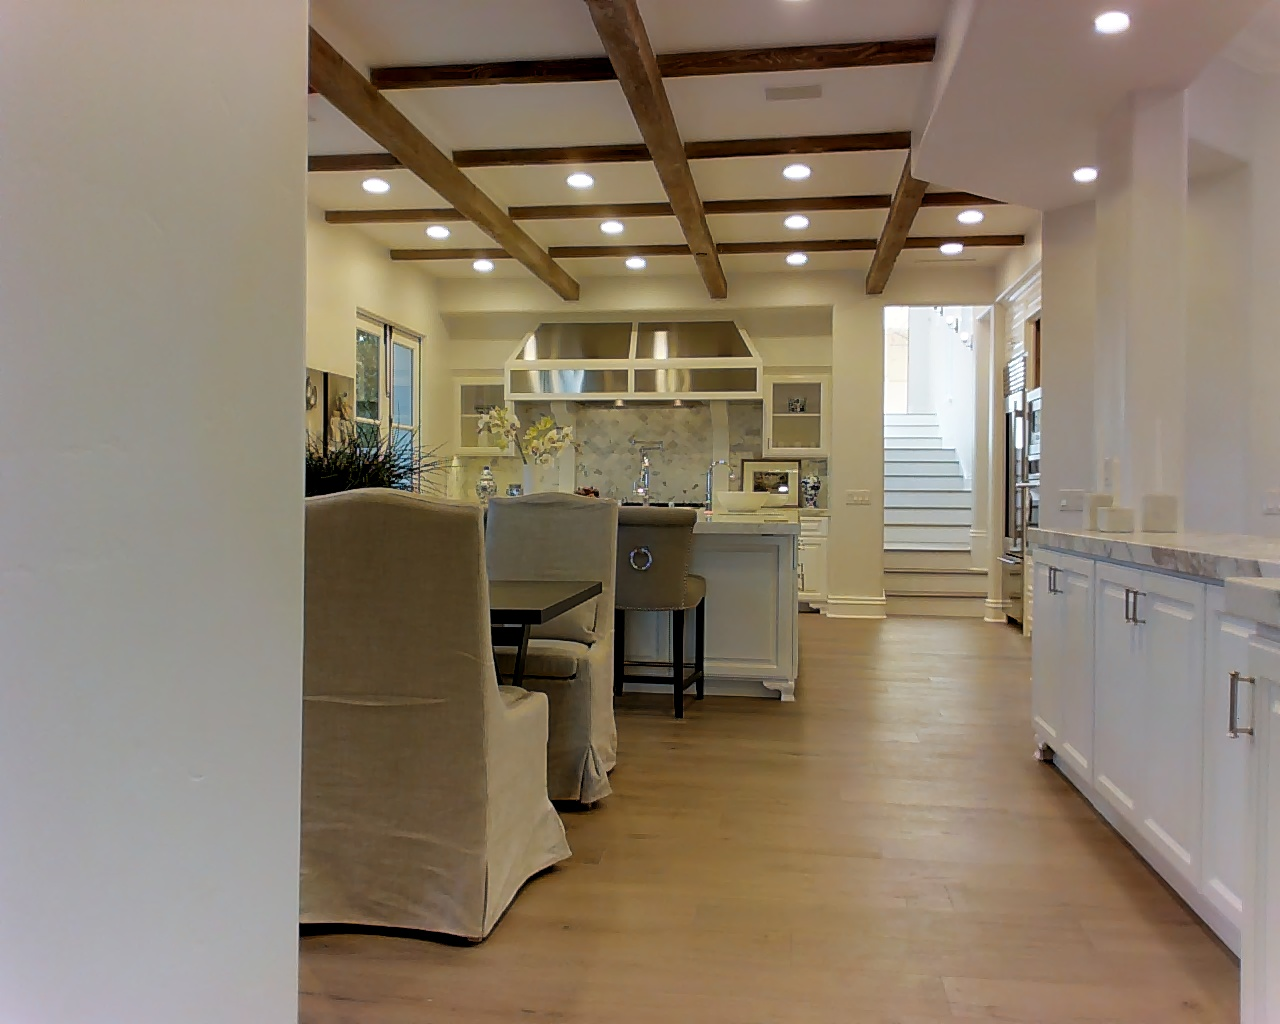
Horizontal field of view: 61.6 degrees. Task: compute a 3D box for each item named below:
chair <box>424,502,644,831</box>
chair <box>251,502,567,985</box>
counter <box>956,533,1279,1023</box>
[{"bbox_3d":[-0.360,0.510,3.960,0.650,1.090,0.720,0,1,9],"label":"chair"},{"bbox_3d":[-0.560,0.520,2.810,0.600,1.090,0.700,0,1,8],"label":"chair"},{"bbox_3d":[1.400,0.590,2.820,0.640,0.970,3.310,0,1,8],"label":"counter"}]
